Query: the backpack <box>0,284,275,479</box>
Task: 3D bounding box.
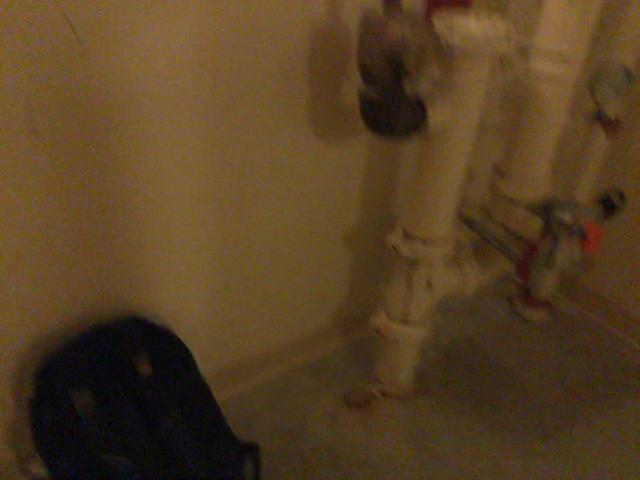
[{"bbox_3d":[-0.360,0.400,1.170,0.430,0.420,0.310,-18,33,-31],"label":"backpack"}]
